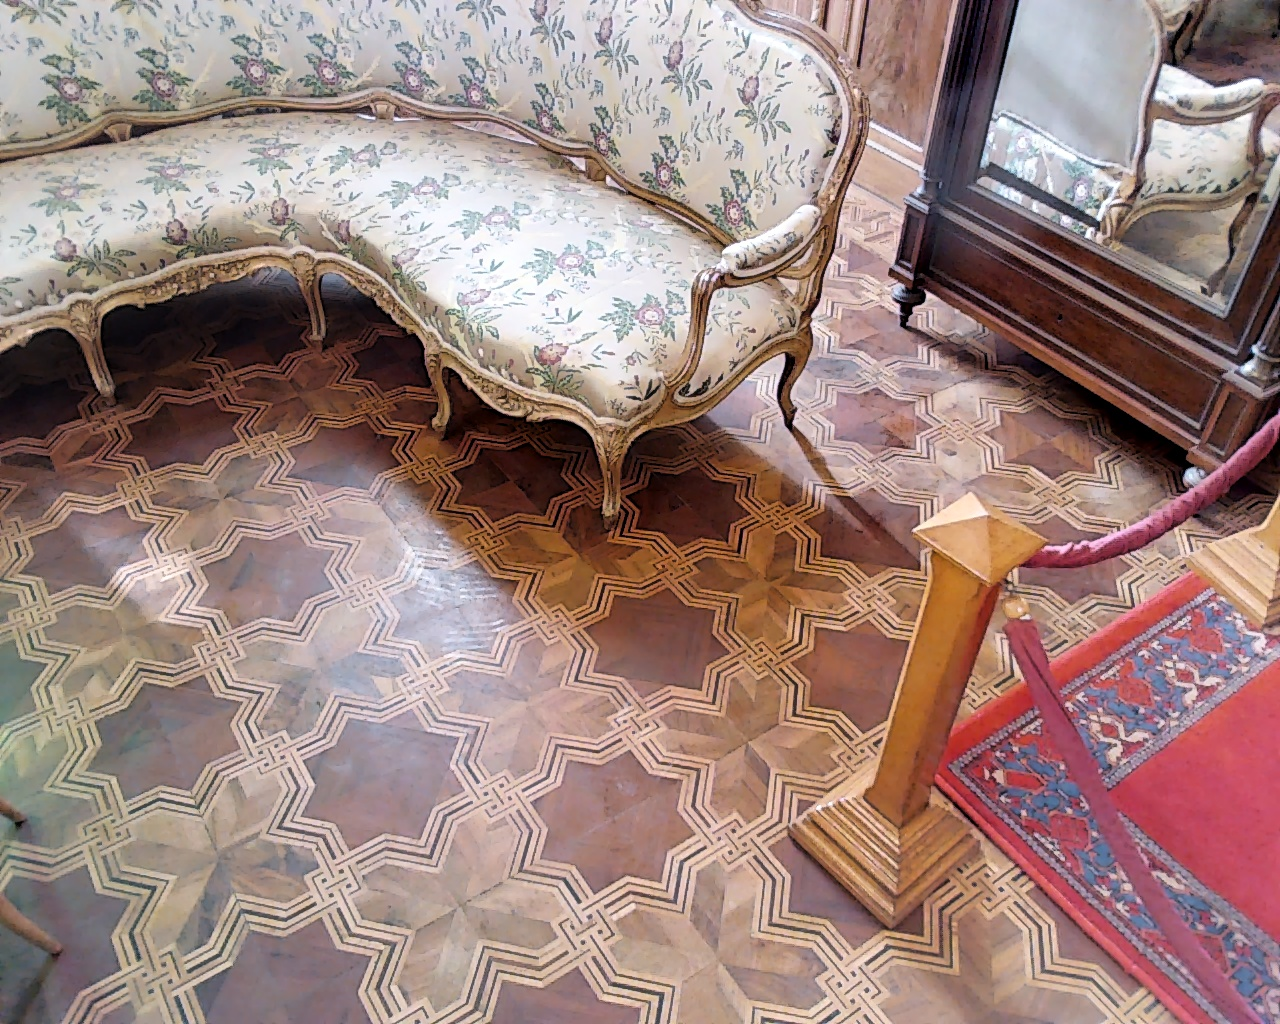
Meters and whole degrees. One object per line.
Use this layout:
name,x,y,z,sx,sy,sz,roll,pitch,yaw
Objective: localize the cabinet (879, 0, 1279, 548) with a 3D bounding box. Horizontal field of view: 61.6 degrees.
cabinet,1.300,-1.280,2.170,0.610,2.500,1.150,-23,47,-24
